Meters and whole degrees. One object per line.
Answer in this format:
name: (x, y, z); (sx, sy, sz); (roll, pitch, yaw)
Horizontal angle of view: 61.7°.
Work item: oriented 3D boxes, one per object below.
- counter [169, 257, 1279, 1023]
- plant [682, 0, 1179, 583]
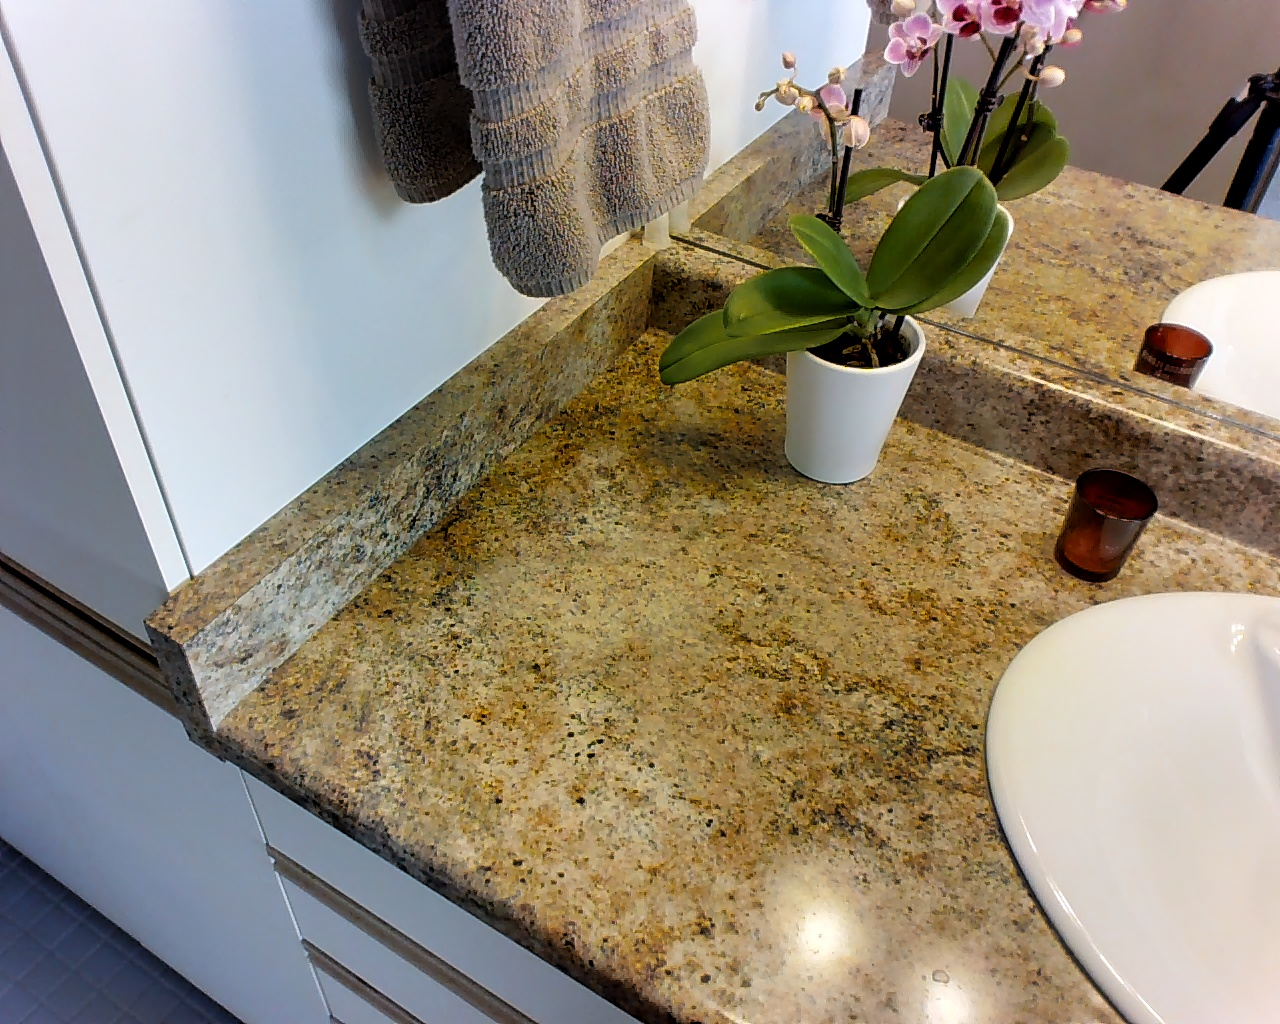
counter: (0.450, 0.340, 0.760); (1.380, 0.440, 0.610); (23, 47, 21)
plant: (0.190, -0.200, 0.750); (0.210, 0.400, 0.230); (25, 48, 23)
